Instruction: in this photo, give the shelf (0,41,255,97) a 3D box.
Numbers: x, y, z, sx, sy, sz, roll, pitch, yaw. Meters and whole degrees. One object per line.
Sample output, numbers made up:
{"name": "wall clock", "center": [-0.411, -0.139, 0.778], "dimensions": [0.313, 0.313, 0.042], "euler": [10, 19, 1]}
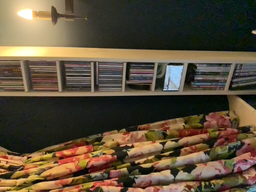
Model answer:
{"name": "shelf", "center": [0.380, -0.140, 1.210], "dimensions": [0.190, 1.970, 0.230], "euler": [-105, 17, -61]}
